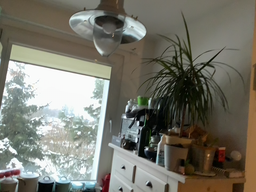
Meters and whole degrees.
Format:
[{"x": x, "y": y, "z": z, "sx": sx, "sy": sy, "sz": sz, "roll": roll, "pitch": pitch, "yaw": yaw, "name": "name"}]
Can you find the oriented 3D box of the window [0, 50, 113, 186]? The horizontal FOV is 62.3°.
[{"x": -0.740, "y": 0.250, "z": 2.050, "sx": 1.070, "sy": 1.120, "sz": 0.160, "roll": 10, "pitch": -6, "yaw": -28, "name": "window"}]
